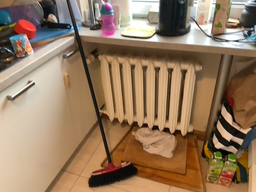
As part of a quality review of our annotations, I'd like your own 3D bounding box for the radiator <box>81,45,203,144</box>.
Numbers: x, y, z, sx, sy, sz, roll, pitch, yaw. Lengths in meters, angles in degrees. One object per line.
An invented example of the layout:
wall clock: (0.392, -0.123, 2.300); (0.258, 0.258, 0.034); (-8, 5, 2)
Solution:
radiator: (0.090, -0.020, 1.570); (0.780, 0.600, 0.200); (11, 37, 19)
